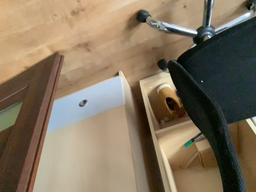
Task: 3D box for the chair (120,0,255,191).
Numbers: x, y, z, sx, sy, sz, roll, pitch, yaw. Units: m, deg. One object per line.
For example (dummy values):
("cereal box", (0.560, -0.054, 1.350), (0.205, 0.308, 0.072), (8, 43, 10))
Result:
("chair", (0.420, -0.050, 0.740), (0.630, 0.950, 0.580), (-24, 130, 12))
